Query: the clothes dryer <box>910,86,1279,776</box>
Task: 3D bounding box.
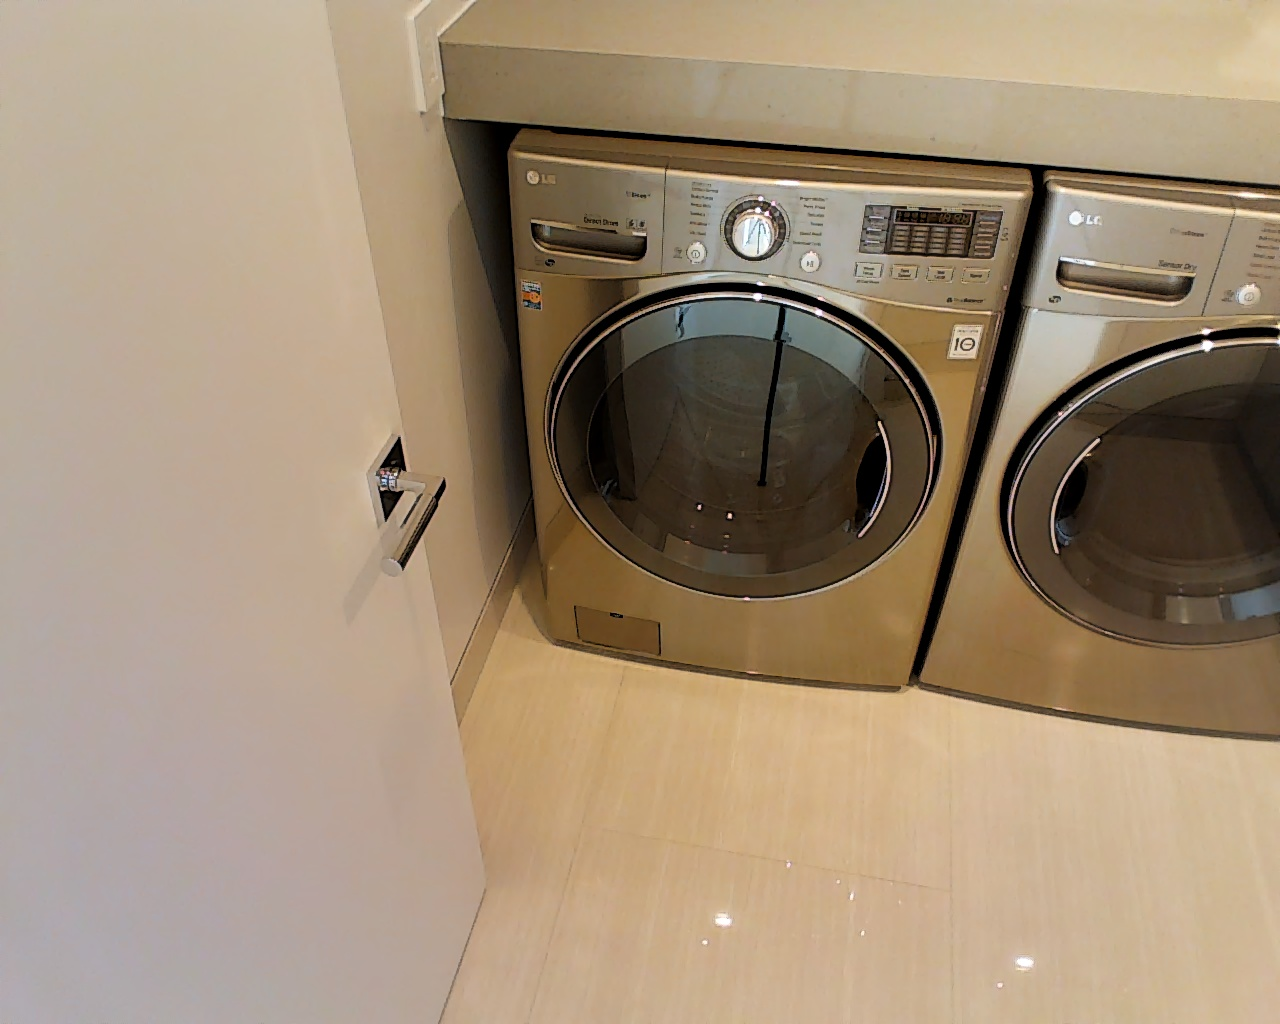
[{"bbox_3d":[0.880,-0.070,1.690,0.720,1.000,0.370,8,44,8],"label":"clothes dryer"}]
